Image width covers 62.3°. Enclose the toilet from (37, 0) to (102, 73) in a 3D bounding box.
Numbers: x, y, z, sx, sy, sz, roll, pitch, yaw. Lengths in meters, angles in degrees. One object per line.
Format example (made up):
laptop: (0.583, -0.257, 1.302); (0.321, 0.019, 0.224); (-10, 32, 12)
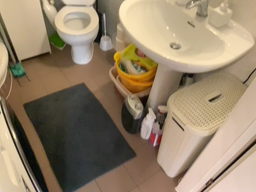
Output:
toilet: (-0.460, -0.720, 1.850); (0.420, 0.800, 0.650); (-3, 50, -9)
